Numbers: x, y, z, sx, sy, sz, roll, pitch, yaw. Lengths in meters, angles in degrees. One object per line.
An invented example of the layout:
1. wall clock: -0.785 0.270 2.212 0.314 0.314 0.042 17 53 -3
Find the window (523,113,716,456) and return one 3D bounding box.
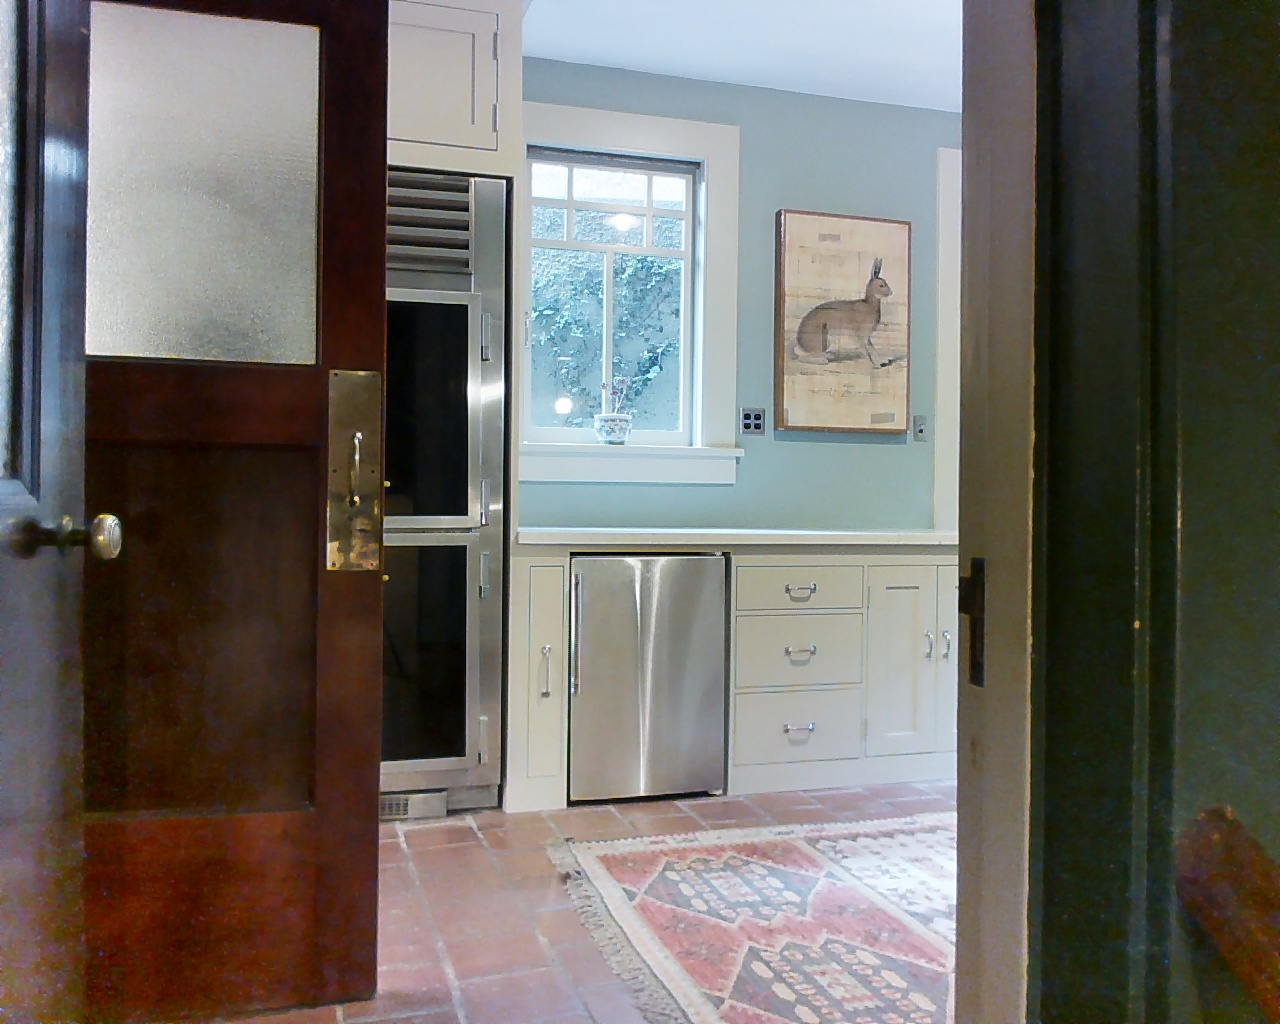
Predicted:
1. window: -0.080 -0.900 4.410 0.760 1.320 0.160 1 0 -17

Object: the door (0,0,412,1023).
1. door: -0.890 -0.150 2.180 0.820 2.280 0.150 1 0 -13

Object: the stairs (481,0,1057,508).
1. stairs: 0.230 -1.230 3.520 1.200 2.410 1.900 1 0 -17
